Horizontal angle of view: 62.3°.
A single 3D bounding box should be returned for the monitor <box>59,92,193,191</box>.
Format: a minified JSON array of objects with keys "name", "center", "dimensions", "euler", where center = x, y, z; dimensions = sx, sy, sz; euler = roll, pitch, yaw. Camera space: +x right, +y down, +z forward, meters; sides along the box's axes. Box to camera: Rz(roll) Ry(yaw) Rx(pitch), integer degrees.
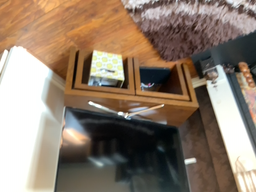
[{"name":"monitor","center":[0.030,0.350,1.500],"dimensions":[0.920,0.600,0.080],"euler":[15,143,-25]}]
